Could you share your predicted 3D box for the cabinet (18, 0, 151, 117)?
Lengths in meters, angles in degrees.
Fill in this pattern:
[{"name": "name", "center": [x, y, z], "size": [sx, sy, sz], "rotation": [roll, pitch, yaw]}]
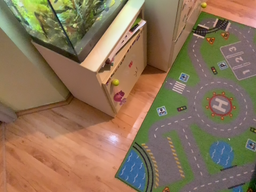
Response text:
[{"name": "cabinet", "center": [-0.150, -0.250, 1.130], "size": [0.370, 0.570, 0.440], "rotation": [27, 71, 15]}]
